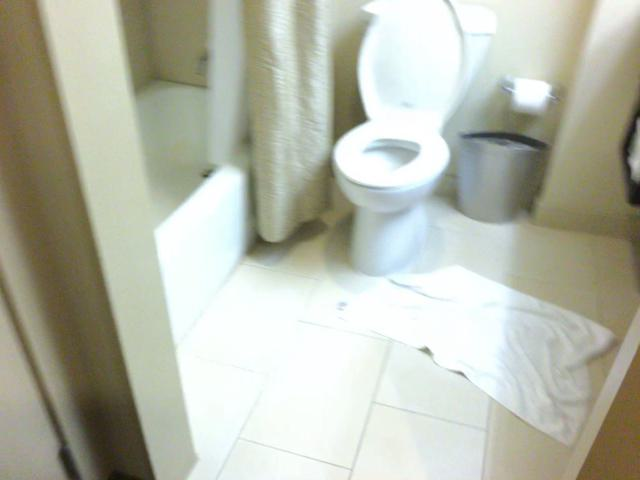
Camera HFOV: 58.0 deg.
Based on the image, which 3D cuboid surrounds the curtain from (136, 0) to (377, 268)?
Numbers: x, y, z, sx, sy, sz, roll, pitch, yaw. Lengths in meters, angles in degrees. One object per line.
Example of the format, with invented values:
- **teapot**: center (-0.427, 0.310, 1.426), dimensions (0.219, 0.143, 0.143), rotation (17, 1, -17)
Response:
- **curtain**: center (-0.160, -0.810, 1.850), dimensions (0.510, 1.610, 0.700), rotation (12, 35, 18)
